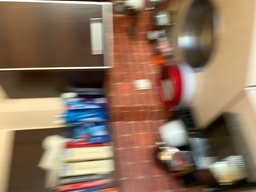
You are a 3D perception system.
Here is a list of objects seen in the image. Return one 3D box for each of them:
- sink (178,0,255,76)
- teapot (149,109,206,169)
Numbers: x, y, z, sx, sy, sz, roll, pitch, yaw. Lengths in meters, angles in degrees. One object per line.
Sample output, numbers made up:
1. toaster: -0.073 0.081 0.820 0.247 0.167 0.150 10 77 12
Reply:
1. sink: 0.490 -0.360 1.210 0.410 0.220 0.430 -129 38 -71
2. teapot: 0.280 0.270 1.300 0.300 0.190 0.260 107 158 -57
